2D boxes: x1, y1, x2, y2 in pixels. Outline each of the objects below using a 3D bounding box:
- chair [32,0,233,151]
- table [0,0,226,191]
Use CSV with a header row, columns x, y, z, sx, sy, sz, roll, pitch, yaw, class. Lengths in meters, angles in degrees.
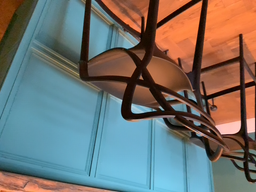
x,y,z,sx,sy,sz,roll,pitch,yaw,class
0.040,-0.280,0.940,0.530,0.890,0.450,-19,144,37,chair
-0.010,0.190,1.580,0.620,1.110,2.140,-18,145,36,table
